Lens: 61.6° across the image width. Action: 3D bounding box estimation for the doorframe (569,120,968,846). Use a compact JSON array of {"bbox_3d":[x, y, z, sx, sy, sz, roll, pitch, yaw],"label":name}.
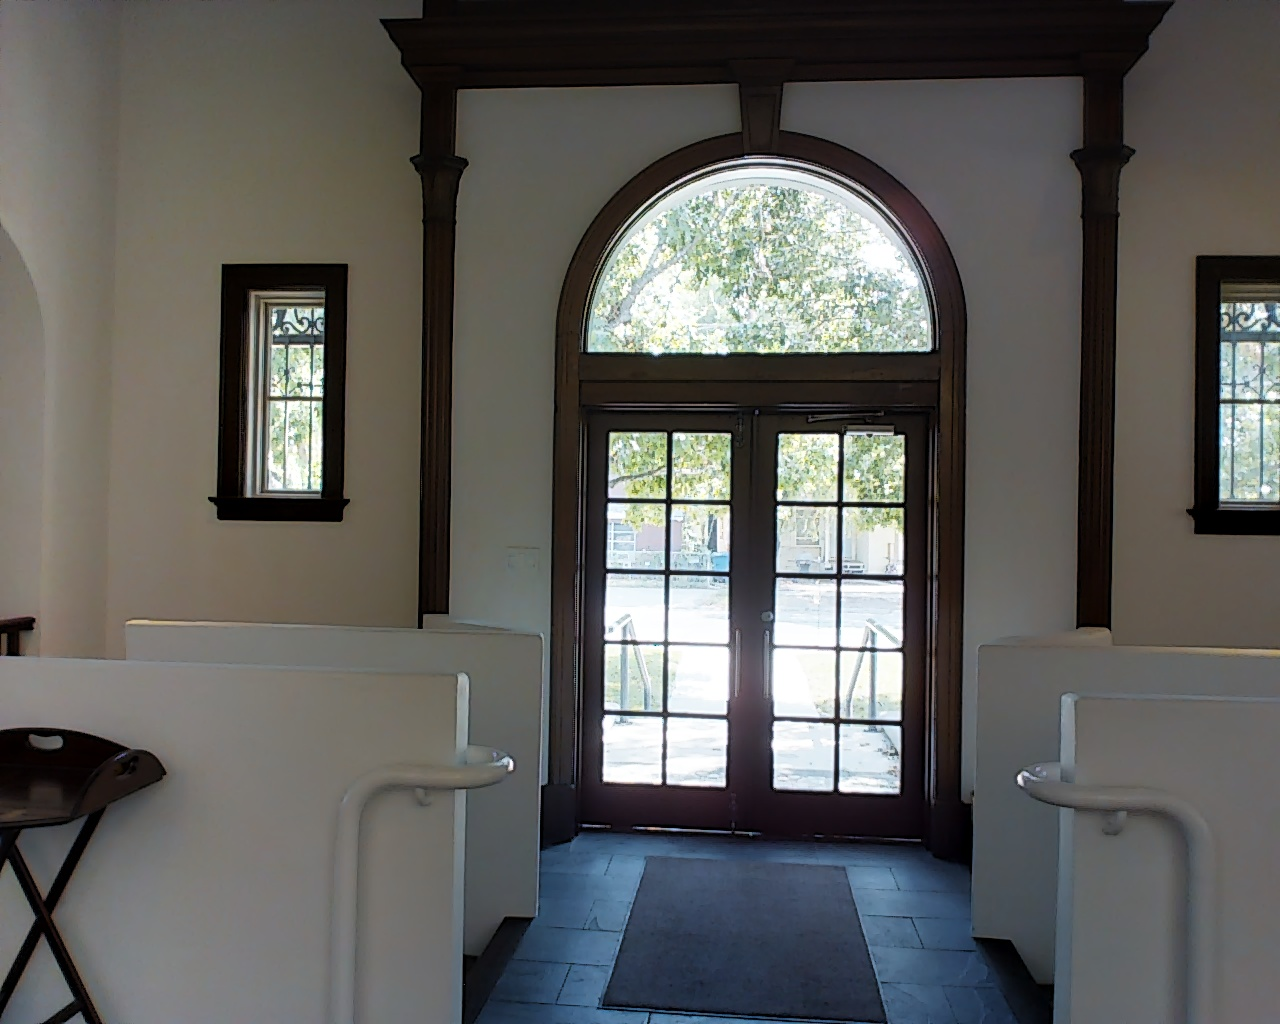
[{"bbox_3d":[0.590,-0.150,5.060,1.770,3.300,0.190,1,0,6],"label":"doorframe"}]
